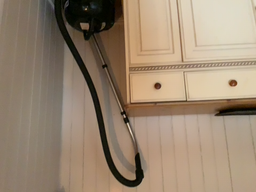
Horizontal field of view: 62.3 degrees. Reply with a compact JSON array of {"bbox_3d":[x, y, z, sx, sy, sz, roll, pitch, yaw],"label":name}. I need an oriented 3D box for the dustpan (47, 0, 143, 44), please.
[{"bbox_3d":[-0.200,-0.620,1.470,0.550,0.330,0.450,-1,168,-2],"label":"dustpan"}]
